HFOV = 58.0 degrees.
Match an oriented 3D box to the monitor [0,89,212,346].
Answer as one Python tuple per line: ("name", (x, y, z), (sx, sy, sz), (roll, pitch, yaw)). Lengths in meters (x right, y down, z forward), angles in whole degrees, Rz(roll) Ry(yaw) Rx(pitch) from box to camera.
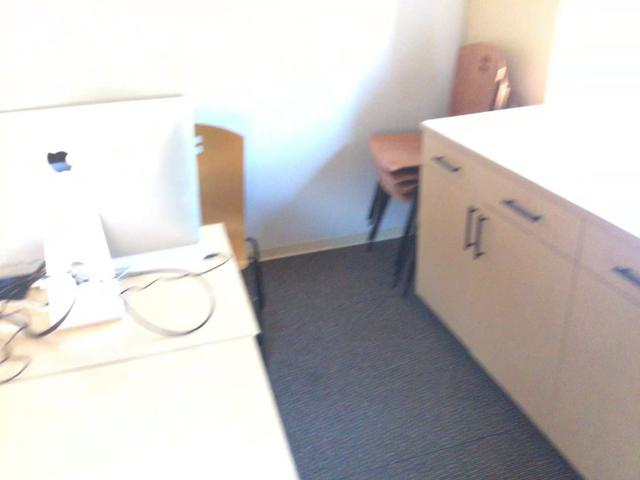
("monitor", (-0.510, -0.050, 1.170), (0.520, 0.440, 0.190), (-8, 28, -18))
